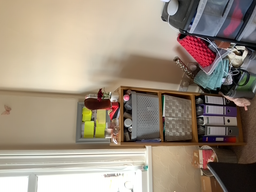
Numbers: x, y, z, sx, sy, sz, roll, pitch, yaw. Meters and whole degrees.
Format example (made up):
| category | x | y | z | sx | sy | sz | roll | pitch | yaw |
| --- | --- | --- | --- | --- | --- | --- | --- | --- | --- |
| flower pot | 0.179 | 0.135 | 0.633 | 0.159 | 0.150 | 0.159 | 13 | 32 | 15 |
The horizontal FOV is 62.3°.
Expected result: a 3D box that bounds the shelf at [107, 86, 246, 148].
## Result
| category | x | y | z | sx | sy | sz | roll | pitch | yaw |
| --- | --- | --- | --- | --- | --- | --- | --- | --- | --- |
| shelf | 0.390 | 0.200 | 1.710 | 0.320 | 1.060 | 0.410 | 149 | 123 | -68 |
